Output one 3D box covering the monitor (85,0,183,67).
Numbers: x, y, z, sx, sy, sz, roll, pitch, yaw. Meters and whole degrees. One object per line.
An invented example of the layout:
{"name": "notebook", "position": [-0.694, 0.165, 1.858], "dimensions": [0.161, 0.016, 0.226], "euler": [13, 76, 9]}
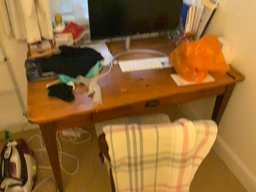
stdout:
{"name": "monitor", "position": [0.060, -0.480, 1.310], "dimensions": [0.620, 0.510, 0.050], "euler": [-16, 42, -19]}
